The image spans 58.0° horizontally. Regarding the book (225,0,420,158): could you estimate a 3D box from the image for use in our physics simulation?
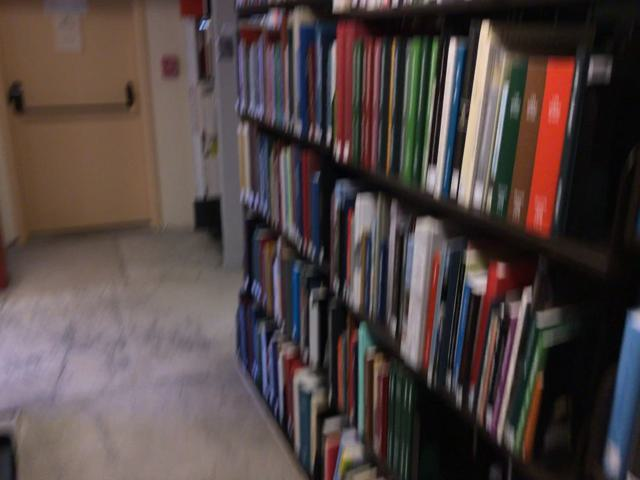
[{"bbox_3d":[-0.060,-0.540,1.890,0.260,0.390,0.920,-3,18,-24],"label":"book"}]

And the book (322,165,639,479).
[{"bbox_3d":[0.300,0.130,1.260,0.220,0.430,0.900,-3,18,-24],"label":"book"}]

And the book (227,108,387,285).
[{"bbox_3d":[-0.100,-0.200,1.990,0.210,0.410,0.870,-3,18,-24],"label":"book"}]

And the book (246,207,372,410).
[{"bbox_3d":[-0.080,0.190,2.050,0.130,0.430,0.780,-3,18,-24],"label":"book"}]

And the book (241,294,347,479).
[{"bbox_3d":[-0.130,0.520,2.150,0.110,0.370,0.760,-3,18,-24],"label":"book"}]

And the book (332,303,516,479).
[{"bbox_3d":[0.250,0.420,1.540,0.270,0.350,0.400,-3,18,-24],"label":"book"}]
